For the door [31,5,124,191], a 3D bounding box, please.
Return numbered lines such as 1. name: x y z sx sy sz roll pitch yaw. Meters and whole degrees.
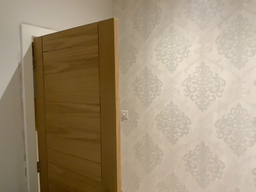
1. door: -0.340 0.590 1.350 0.770 2.090 0.060 2 5 38
